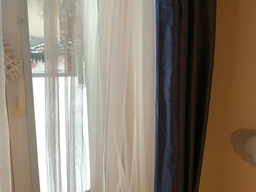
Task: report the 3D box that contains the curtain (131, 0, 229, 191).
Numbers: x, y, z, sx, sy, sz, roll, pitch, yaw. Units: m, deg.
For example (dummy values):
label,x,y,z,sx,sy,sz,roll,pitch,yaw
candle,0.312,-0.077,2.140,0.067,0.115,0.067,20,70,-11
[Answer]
label,x,y,z,sx,sy,sz,roll,pitch,yaw
curtain,0.270,-0.280,1.000,0.530,2.550,0.190,-7,-171,-44
